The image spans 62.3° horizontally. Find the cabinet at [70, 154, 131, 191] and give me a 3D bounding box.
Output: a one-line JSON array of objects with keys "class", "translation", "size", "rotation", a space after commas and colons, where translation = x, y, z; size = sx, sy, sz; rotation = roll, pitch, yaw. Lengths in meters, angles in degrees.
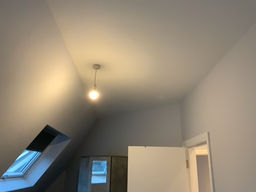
[{"class": "cabinet", "translation": [-0.460, 1.900, 3.230], "size": [0.800, 1.900, 0.560], "rotation": [-15, -25, 39]}]
